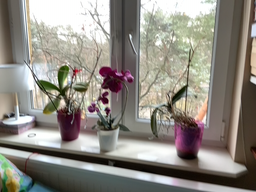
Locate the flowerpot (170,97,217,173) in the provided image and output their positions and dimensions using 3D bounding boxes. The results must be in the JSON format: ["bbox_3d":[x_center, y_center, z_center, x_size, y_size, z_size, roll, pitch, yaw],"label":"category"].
[{"bbox_3d":[0.350,0.200,1.180,0.200,0.330,0.240,4,13,13],"label":"flowerpot"}]

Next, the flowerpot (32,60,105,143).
[{"bbox_3d":[-0.390,0.010,1.490,0.360,0.500,0.330,4,13,14],"label":"flowerpot"}]

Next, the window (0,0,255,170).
[{"bbox_3d":[-0.080,-0.410,1.230,1.690,1.530,0.080,4,13,14],"label":"window"}]
